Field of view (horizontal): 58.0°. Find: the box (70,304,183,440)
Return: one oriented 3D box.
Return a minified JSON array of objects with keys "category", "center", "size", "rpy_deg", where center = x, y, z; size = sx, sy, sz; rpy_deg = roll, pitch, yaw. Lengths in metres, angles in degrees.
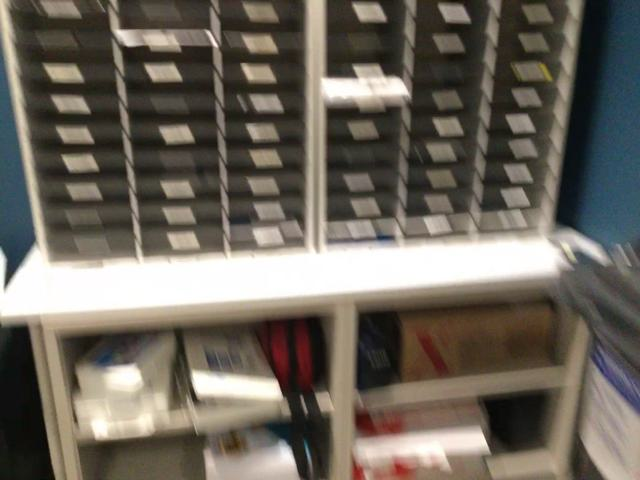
[{"category":"box","center":[-0.520,0.350,1.620],"size":[0.250,0.180,0.370],"rpy_deg":[-3,20,-12]}]

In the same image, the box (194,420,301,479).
[{"category":"box","center":[-0.200,0.650,1.670],"size":[0.290,0.190,0.160],"rpy_deg":[0,20,-2]}]

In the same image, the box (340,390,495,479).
[{"category":"box","center":[0.290,0.610,1.770],"size":[0.430,0.200,0.150],"rpy_deg":[-3,20,-12]}]

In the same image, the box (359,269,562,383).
[{"category":"box","center":[0.430,0.260,1.850],"size":[0.540,0.200,0.300],"rpy_deg":[-3,20,-12]}]

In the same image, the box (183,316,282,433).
[{"category":"box","center":[-0.260,0.370,1.660],"size":[0.250,0.140,0.350],"rpy_deg":[-3,20,-12]}]
